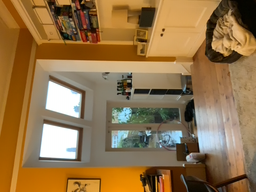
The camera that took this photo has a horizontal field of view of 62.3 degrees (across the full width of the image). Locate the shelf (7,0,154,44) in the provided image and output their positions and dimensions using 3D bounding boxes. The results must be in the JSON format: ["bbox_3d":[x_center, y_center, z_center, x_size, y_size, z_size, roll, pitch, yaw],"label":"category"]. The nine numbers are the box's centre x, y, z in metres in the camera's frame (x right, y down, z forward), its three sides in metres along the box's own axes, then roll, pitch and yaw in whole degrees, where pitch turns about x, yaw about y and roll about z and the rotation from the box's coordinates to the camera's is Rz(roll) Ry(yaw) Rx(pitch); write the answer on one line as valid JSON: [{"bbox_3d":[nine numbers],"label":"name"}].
[{"bbox_3d":[-0.620,-1.260,3.040,1.290,1.860,0.300,101,169,-71],"label":"shelf"}]
